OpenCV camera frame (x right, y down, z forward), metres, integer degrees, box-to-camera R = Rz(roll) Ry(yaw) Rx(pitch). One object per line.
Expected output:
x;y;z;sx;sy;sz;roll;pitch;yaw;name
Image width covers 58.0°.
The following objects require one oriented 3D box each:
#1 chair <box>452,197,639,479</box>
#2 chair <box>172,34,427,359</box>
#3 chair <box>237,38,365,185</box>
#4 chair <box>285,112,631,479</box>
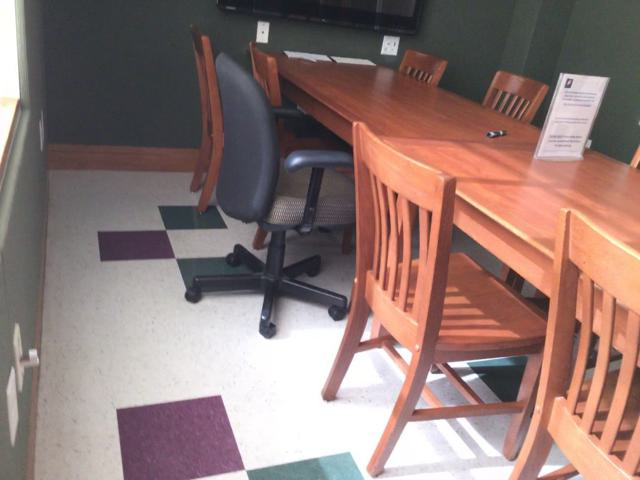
0.670;0.410;1.160;0.520;0.880;0.470;-4;27;-22;chair
-0.160;-0.200;2.160;0.660;0.940;0.730;-4;27;-22;chair
-0.110;-0.580;2.570;0.380;0.520;0.480;-4;27;-22;chair
0.300;0.150;1.630;0.590;0.880;0.530;-4;27;-22;chair
